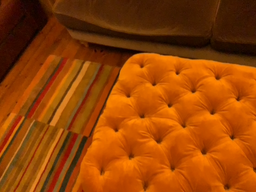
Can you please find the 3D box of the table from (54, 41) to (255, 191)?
[{"bbox_3d":[0.270,0.210,1.090,0.880,0.360,0.850,13,63,18],"label":"table"}]
